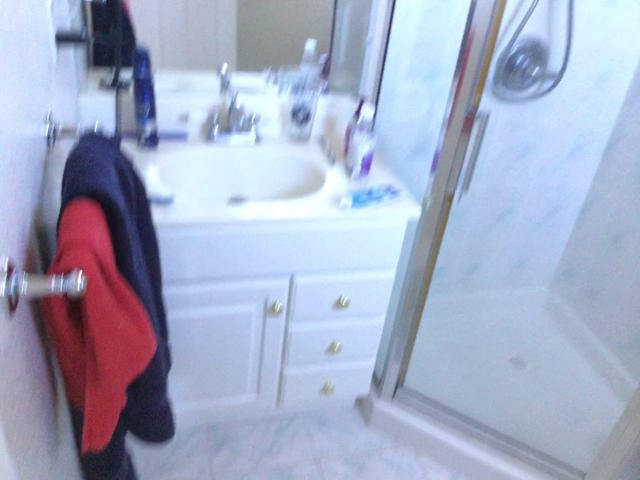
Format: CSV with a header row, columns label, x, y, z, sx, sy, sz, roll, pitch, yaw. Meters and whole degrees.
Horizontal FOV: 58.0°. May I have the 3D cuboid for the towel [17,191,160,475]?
label,x,y,z,sx,sy,sz,roll,pitch,yaw
towel,-0.320,0.140,0.860,0.140,0.380,0.190,-2,34,-13

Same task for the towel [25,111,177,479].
label,x,y,z,sx,sy,sz,roll,pitch,yaw
towel,-0.390,0.200,1.150,0.180,0.850,0.260,-2,34,-13

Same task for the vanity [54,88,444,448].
label,x,y,z,sx,sy,sz,roll,pitch,yaw
vanity,-0.210,0.070,1.620,0.810,0.820,0.490,-2,34,-13
